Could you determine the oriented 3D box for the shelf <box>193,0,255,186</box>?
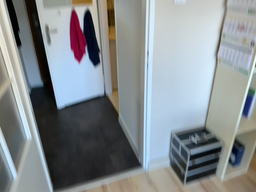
[{"bbox_3d":[0.920,-0.030,1.680,0.460,1.540,0.360,-11,29,-18],"label":"shelf"}]
